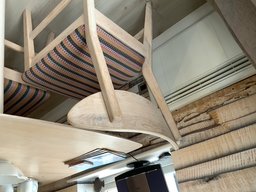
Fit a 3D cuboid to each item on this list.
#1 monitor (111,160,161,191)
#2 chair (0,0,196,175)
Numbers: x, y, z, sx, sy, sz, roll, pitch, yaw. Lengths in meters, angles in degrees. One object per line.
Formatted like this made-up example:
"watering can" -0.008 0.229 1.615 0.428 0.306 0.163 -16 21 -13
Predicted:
"monitor" 0.040 0.550 1.370 0.390 0.240 0.030 -19 151 38
"chair" -0.160 -0.130 1.020 0.530 0.860 0.550 -29 146 31
